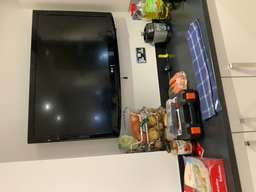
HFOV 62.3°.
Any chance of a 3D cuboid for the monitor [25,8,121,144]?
[{"bbox_3d":[-0.410,-0.190,1.610,0.060,0.640,1.040,120,147,-73],"label":"monitor"}]
